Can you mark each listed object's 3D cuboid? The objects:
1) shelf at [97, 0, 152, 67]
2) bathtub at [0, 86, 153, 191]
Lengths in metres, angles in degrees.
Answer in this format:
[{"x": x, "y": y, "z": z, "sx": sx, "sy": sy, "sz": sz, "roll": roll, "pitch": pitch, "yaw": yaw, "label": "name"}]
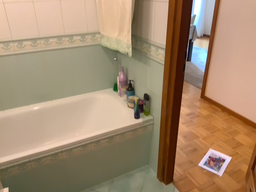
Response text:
[{"x": -0.050, "y": -0.740, "z": 1.580, "sx": 0.220, "sy": 0.890, "sz": 0.540, "roll": -12, "pitch": 29, "yaw": -21, "label": "shelf"}, {"x": -0.700, "y": 0.450, "z": 1.750, "sx": 1.660, "sy": 0.560, "sz": 0.690, "roll": -13, "pitch": 29, "yaw": -23, "label": "bathtub"}]
